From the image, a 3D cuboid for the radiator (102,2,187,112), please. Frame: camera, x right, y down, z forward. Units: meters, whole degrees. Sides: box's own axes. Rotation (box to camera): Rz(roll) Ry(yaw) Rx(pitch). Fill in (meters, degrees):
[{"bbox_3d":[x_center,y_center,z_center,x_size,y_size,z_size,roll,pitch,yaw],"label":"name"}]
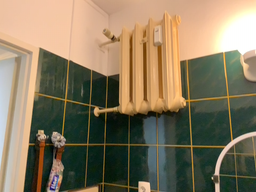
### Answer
[{"bbox_3d":[0.100,-0.210,1.350,0.470,0.570,0.210,-6,-14,31],"label":"radiator"}]
